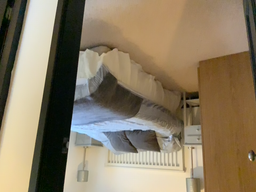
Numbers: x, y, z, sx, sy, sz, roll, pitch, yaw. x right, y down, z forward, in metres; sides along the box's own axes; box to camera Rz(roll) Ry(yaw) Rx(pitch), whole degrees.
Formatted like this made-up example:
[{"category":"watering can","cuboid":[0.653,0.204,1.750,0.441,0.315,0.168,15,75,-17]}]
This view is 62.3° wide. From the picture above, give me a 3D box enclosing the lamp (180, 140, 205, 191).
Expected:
[{"category":"lamp","cuboid":[0.910,0.970,3.010,0.260,0.670,0.170,-9,161,32]}]
